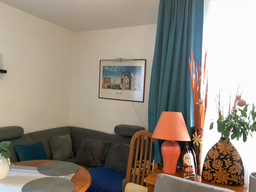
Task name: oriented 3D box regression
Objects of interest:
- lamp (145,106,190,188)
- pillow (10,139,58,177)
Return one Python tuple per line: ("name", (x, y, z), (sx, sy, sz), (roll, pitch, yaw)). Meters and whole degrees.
("lamp", (0.330, 0.390, 1.750), (0.260, 0.580, 0.250), (5, 2, 27))
("pillow", (-1.180, 0.770, 2.700), (0.310, 0.310, 0.450), (5, 2, 26))
